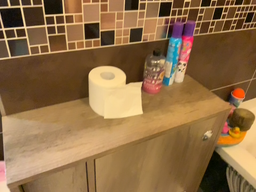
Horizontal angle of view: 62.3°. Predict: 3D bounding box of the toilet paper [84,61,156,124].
[{"bbox_3d":[-0.030,-0.020,0.680,0.180,0.120,0.130,-13,38,-25],"label":"toilet paper"}]
